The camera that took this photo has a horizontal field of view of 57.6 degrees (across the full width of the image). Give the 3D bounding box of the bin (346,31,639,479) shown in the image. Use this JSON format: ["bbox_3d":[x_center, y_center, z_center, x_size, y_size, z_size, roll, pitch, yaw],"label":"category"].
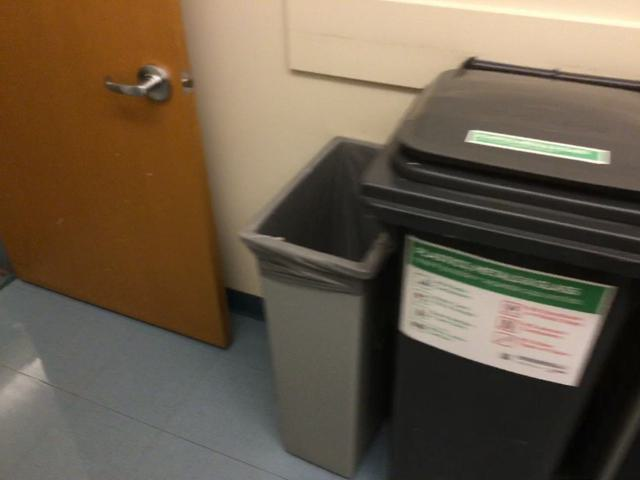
[{"bbox_3d":[0.400,0.200,1.240,0.470,1.060,0.600,16,37,21],"label":"bin"}]

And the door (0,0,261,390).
[{"bbox_3d":[-0.700,-0.370,1.590,1.020,1.570,0.210,15,37,21],"label":"door"}]

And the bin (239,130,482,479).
[{"bbox_3d":[0.110,0.210,1.450,0.350,0.780,0.490,16,37,21],"label":"bin"}]
